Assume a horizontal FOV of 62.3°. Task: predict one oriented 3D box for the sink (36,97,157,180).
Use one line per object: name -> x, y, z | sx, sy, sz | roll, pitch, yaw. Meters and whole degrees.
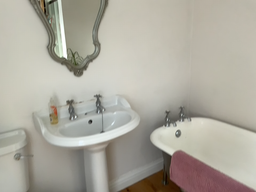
sink -> -0.210, 0.220, 1.410 | 0.630, 0.200, 0.490 | -13, 19, -31
